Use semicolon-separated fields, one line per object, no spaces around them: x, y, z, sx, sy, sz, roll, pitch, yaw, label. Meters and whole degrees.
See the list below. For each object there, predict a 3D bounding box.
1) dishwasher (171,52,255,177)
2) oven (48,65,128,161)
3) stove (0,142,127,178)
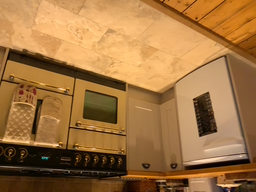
0.880;0.230;1.960;0.640;0.930;0.610;14;153;-29;dishwasher
-0.400;0.220;2.160;0.560;0.750;0.610;14;153;-29;oven
-0.640;0.590;1.840;1.110;0.180;0.600;14;153;-29;stove
